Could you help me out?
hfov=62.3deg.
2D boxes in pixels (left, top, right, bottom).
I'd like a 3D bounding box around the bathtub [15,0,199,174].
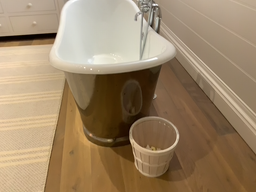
[{"bbox_3d":[-0.180,-0.310,1.720,0.770,0.690,1.570,-4,37,-7],"label":"bathtub"}]
